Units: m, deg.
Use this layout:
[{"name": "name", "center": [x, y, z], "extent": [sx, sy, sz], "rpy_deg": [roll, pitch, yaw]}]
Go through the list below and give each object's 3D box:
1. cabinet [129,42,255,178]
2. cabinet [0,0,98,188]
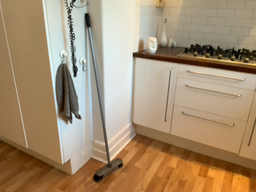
[{"name": "cabinet", "center": [0.730, 0.040, 2.080], "extent": [1.270, 0.910, 0.620], "rpy_deg": [13, 25, 25]}, {"name": "cabinet", "center": [-0.800, -0.440, 1.630], "extent": [1.030, 2.140, 0.410], "rpy_deg": [13, 25, 25]}]
